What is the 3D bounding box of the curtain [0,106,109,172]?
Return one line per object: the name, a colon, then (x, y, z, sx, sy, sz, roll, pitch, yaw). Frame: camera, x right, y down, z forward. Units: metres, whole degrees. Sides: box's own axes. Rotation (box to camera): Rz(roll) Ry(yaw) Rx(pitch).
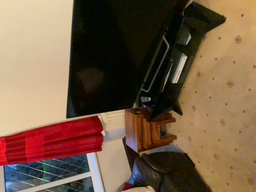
curtain: (-1.180, 0.560, 2.590, 0.610, 1.750, 0.430, -52, 51, 55)
